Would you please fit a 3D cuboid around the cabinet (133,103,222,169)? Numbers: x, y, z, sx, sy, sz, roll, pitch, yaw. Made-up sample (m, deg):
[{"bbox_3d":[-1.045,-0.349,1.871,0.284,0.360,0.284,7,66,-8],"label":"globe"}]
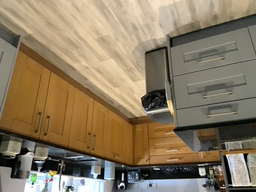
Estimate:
[{"bbox_3d":[0.830,0.750,3.720,1.340,0.910,0.600,-11,154,24],"label":"cabinet"}]
